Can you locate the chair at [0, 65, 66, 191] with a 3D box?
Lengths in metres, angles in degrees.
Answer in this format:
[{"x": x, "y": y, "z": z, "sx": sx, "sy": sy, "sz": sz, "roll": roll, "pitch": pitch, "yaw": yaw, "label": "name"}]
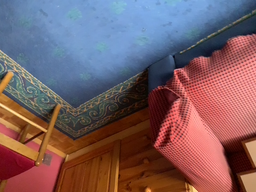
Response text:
[{"x": -0.840, "y": 0.340, "z": 1.310, "sx": 0.530, "sy": 0.840, "sz": 0.460, "roll": -30, "pitch": 126, "yaw": 28, "label": "chair"}]
